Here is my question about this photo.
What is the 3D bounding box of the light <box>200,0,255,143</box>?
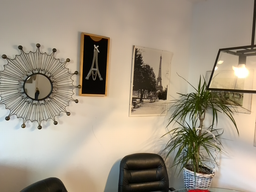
[{"bbox_3d":[0.990,-0.140,1.390,0.910,0.980,0.360,4,40,18],"label":"light"}]

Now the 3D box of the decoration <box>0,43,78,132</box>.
[{"bbox_3d":[-0.710,-0.050,1.610,0.630,0.620,0.050,2,3,-33],"label":"decoration"}]
